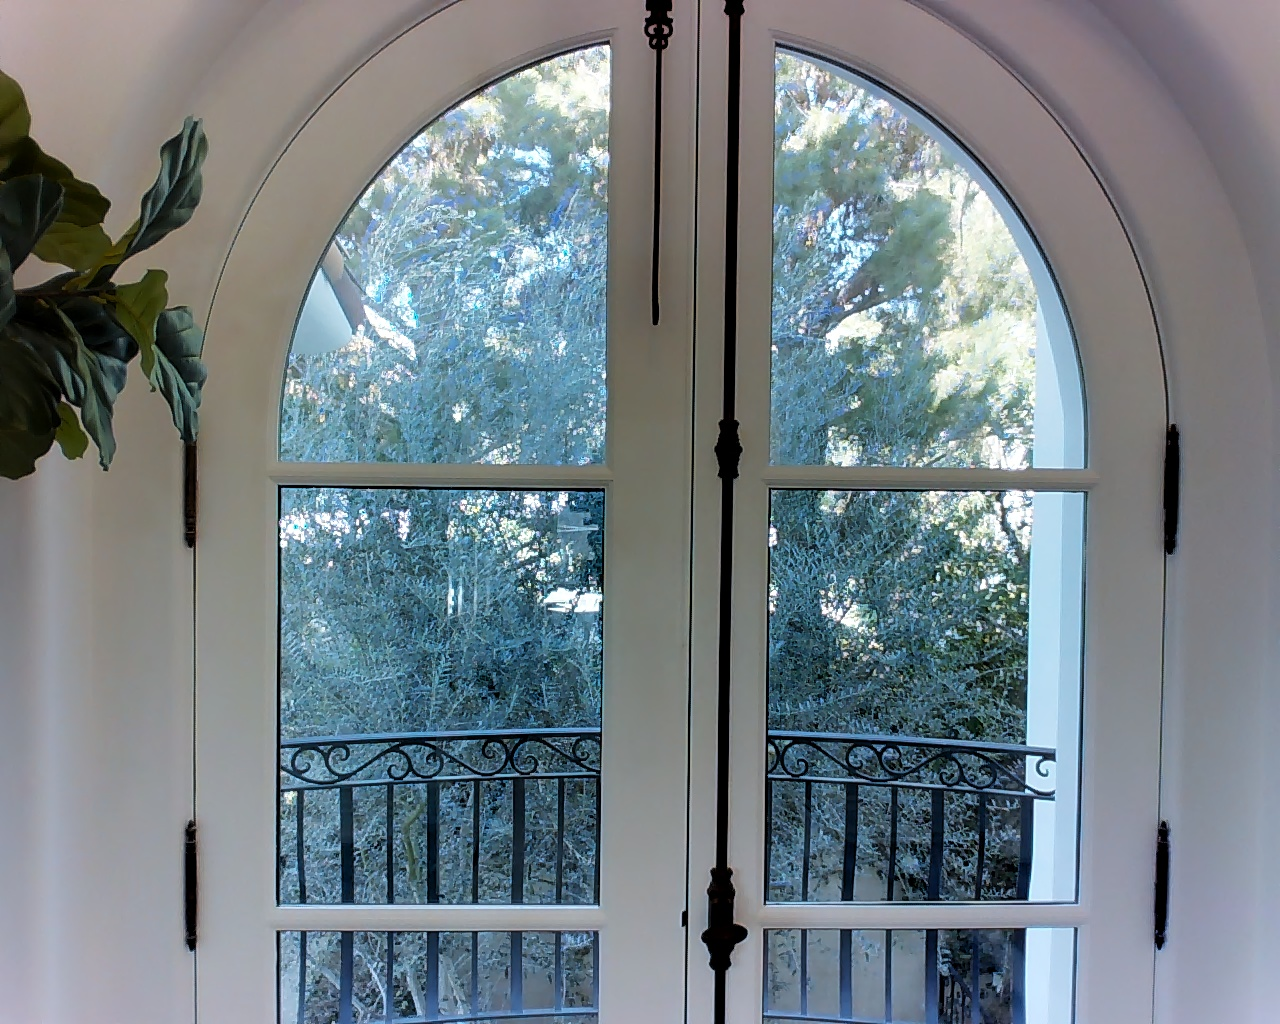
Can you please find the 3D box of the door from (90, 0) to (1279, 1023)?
[{"bbox_3d":[0.090,0.300,1.690,1.829,2.591,0.120,1,1,-1],"label":"door"}]
